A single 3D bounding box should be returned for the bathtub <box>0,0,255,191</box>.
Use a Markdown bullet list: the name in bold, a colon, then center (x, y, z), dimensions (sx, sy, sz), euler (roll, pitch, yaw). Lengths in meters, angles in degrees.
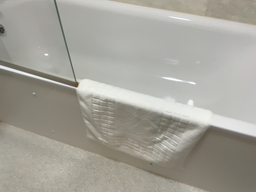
- **bathtub**: center (-0.050, -0.090, 1.200), dimensions (1.670, 0.570, 0.680), euler (15, 51, 12)
